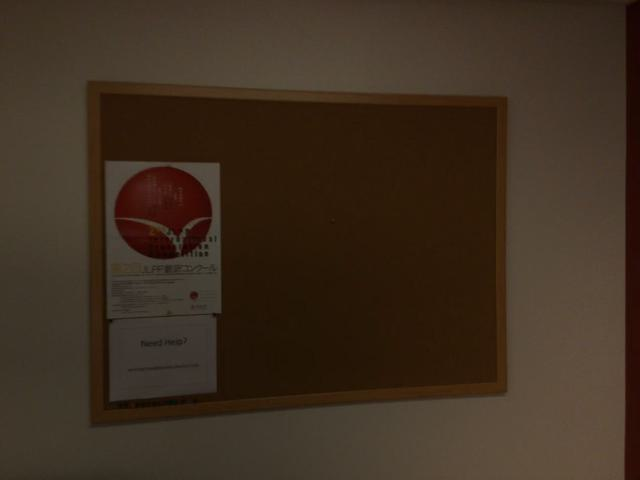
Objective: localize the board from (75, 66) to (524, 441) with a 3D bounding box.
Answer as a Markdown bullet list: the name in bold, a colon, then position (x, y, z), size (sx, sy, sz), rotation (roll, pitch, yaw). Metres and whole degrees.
- **board**: position (-0.010, 0.030, 1.590), size (1.230, 0.940, 0.040), rotation (0, 1, -11)
